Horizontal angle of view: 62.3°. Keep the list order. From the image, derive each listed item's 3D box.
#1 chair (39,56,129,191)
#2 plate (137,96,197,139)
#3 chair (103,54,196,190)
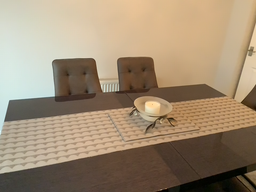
[{"bbox_3d":[-0.370,0.230,1.670,0.500,0.950,0.570,-6,26,-23],"label":"chair"},{"bbox_3d":[0.210,0.110,1.200,0.230,0.120,0.240,-4,25,-20],"label":"plate"},{"bbox_3d":[0.110,0.180,1.880,0.490,0.960,0.620,-5,25,-21],"label":"chair"}]
